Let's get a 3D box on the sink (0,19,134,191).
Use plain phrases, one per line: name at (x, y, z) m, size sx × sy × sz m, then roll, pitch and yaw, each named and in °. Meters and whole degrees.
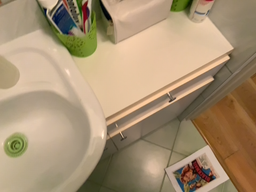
sink at (-0.300, 0.120, 0.510) m, size 0.500 × 0.200 × 0.380 m, roll -28°, pitch 74°, yaw -9°
